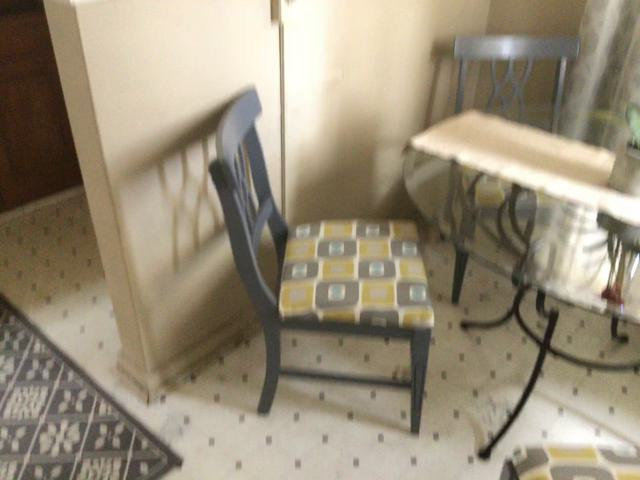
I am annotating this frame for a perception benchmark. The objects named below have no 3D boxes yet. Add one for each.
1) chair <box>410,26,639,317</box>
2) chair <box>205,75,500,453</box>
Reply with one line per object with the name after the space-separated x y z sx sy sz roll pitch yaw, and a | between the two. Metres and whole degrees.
0.750 -0.270 2.170 0.520 0.860 0.650 -2 34 -11 | chair
0.040 0.080 1.630 0.600 0.850 0.530 8 36 0 | chair
